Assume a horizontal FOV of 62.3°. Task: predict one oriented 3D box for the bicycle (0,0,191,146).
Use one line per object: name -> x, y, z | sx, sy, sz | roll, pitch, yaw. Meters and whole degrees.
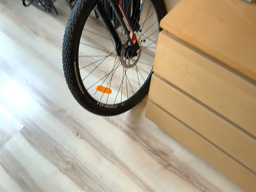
bicycle -> -0.580, -0.600, 1.170 | 1.670, 0.890, 0.660 | 34, 67, 16
